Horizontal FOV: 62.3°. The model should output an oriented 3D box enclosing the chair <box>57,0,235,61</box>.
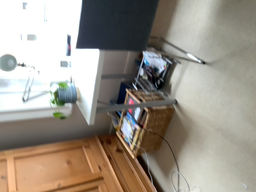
[{"bbox_3d":[0.080,-0.510,1.250,0.530,0.850,0.420,49,134,48],"label":"chair"}]
